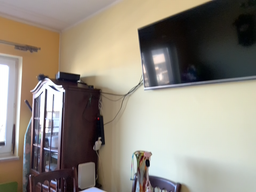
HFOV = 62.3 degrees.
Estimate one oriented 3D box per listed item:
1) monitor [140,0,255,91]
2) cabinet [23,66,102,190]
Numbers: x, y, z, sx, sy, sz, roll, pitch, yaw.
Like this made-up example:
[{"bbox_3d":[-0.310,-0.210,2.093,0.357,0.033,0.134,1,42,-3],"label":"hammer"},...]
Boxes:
[{"bbox_3d":[0.450,-0.340,1.430,0.080,0.520,0.910,5,-9,-43],"label":"monitor"},{"bbox_3d":[-0.760,0.310,2.380,0.460,1.110,0.870,5,-6,-44],"label":"cabinet"}]
